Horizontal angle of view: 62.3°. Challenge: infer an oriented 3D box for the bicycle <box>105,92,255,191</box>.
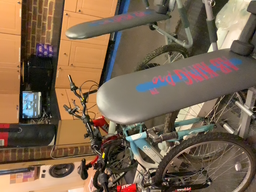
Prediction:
[{"bbox_3d":[0.240,0.830,1.560,0.420,0.740,1.750,56,136,48],"label":"bicycle"}]
